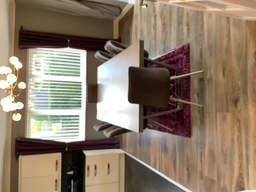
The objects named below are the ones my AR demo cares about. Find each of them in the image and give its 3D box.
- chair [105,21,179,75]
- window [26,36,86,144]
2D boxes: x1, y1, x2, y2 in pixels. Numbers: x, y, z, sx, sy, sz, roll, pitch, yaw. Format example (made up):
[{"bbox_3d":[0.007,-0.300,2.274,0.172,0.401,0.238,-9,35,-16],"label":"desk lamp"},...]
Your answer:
[{"bbox_3d":[0.190,-0.610,2.870,0.420,0.910,0.540,175,95,-68],"label":"chair"},{"bbox_3d":[-1.650,-0.120,4.950,0.160,1.250,2.370,177,94,-68],"label":"window"}]
